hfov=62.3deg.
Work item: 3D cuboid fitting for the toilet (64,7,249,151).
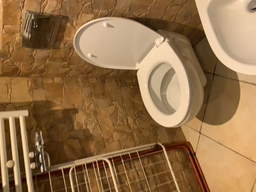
[{"bbox_3d":[0.150,-0.080,1.160,0.380,0.820,0.510,-45,56,49],"label":"toilet"}]
